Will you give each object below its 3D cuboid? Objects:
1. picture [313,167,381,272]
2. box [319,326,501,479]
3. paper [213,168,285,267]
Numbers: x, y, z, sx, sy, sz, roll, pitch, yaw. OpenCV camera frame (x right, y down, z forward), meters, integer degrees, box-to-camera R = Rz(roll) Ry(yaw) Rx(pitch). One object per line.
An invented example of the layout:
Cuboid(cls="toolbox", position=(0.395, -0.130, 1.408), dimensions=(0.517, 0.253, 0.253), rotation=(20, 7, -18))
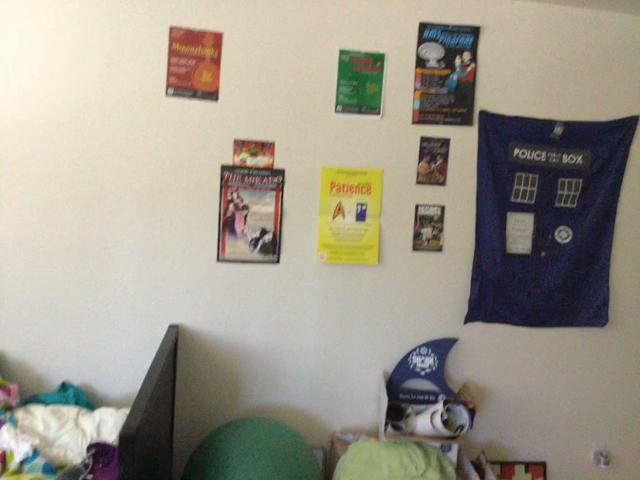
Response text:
Cuboid(cls="picture", position=(0.120, -0.090, 2.580), dimensions=(0.280, 0.450, 0.070), rotation=(2, 2, -8))
Cuboid(cls="box", position=(0.340, 0.880, 2.450), dimensions=(0.600, 0.930, 0.550), rotation=(2, 2, -8))
Cuboid(cls="paper", position=(-0.310, -0.100, 2.520), dimensions=(0.300, 0.420, 0.080), rotation=(-1, 2, -8))
